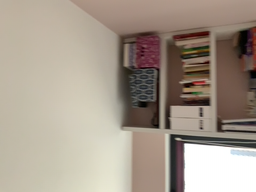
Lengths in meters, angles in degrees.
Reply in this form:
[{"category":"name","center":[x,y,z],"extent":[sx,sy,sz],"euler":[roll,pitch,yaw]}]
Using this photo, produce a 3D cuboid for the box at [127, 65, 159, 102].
[{"category":"box","center":[0.130,-0.100,1.810],"extent":[0.180,0.220,0.300],"euler":[-5,-86,-66]}]
